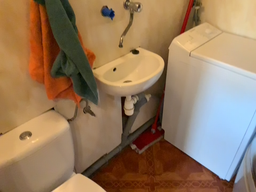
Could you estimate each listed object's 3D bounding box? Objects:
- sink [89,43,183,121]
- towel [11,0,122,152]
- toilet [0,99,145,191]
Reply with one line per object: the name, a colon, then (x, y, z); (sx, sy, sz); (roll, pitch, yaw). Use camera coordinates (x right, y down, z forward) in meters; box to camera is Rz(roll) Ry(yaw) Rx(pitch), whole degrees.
sink: (0.050, -0.100, 1.160); (0.410, 0.180, 0.280); (-31, 47, -32)
towel: (-0.210, -0.110, 0.890); (0.280, 0.650, 0.220); (-29, 47, -31)
toilet: (-0.280, 0.540, 1.000); (0.370, 0.800, 0.590); (-31, 47, -32)
